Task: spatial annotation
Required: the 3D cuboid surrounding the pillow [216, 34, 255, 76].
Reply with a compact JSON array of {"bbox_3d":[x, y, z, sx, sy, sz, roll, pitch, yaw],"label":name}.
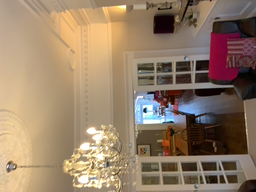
[{"bbox_3d":[1.440,-0.530,2.810,0.140,0.390,0.450,-30,-76,-41],"label":"pillow"}]
